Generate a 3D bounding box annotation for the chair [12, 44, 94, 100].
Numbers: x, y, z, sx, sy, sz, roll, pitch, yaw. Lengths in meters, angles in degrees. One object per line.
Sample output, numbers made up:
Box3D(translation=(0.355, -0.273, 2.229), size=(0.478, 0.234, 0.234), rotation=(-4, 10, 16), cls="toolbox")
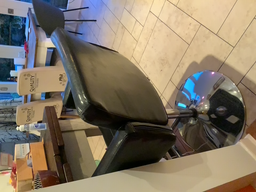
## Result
Box3D(translation=(-1.100, -0.330, 3.050), size=(0.670, 0.970, 0.430), rotation=(59, 137, 40), cls="chair")
